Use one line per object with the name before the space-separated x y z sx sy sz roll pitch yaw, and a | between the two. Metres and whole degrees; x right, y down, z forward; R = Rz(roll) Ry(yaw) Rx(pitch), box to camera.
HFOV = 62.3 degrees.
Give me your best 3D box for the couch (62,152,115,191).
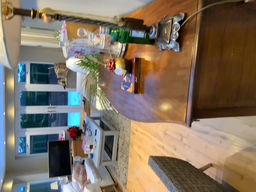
couch | -0.940 2.000 4.620 1.550 0.790 0.930 -159 72 -65
